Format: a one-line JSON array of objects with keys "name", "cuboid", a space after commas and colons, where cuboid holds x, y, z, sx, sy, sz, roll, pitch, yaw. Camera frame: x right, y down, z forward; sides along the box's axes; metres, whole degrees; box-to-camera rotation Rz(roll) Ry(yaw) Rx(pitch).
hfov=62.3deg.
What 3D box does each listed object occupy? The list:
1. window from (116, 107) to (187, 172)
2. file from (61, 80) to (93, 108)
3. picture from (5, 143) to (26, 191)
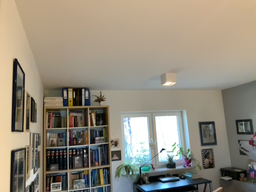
[{"name": "window", "cuboid": [0.500, 0.860, 4.400, 1.430, 1.200, 0.170, 0, -9, -16]}, {"name": "file", "cuboid": [-0.900, -0.030, 3.700, 0.510, 0.420, 0.330, 0, -9, -18]}, {"name": "picture", "cuboid": [-0.680, 0.450, 1.300, 0.060, 0.290, 0.420, 0, -9, -21]}]
